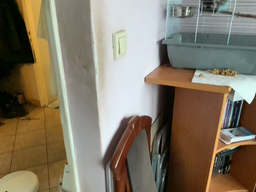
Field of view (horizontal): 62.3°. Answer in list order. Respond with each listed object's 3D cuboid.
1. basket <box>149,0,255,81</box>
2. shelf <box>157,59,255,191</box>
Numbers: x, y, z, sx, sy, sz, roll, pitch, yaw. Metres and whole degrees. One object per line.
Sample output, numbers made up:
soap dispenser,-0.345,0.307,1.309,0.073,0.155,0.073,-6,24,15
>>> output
basket,0.520,-0.440,0.930,0.720,0.620,0.470,9,25,21
shelf,0.460,0.380,1.270,0.370,1.090,0.450,-7,24,-16
